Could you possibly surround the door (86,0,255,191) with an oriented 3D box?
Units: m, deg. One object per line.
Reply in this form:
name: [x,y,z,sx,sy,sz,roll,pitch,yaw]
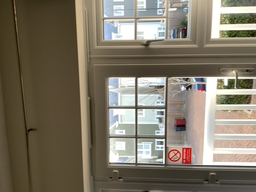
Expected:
door: [0.790,0.180,1.790,0.120,2.190,2.200,-69,-22,-81]
